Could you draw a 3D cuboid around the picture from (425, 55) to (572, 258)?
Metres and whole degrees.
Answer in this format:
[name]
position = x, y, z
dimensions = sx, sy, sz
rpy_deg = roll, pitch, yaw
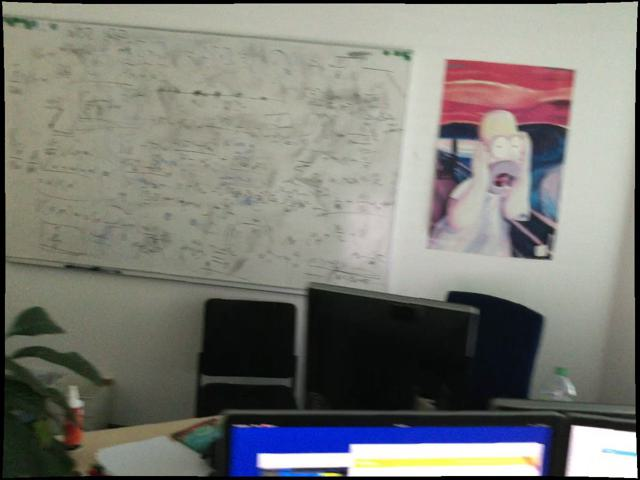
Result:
[picture]
position = 0.809, -0.380, 2.690
dimensions = 0.539, 0.881, 0.110
rpy_deg = 5, 11, 5

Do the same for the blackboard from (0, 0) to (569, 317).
[blackboard]
position = -0.400, -0.430, 2.820
dimensions = 2.887, 1.331, 0.190
rpy_deg = 5, 11, 5
